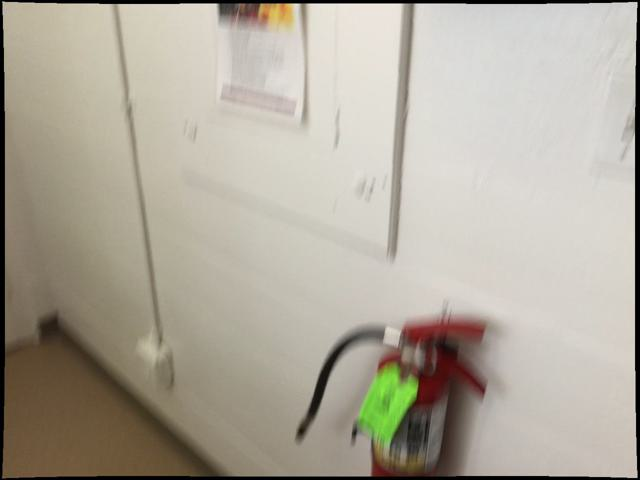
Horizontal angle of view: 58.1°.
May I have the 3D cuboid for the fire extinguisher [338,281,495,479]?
[{"bbox_3d":[0.140,0.311,0.930,0.170,0.441,0.130,24,35,38],"label":"fire extinguisher"}]
